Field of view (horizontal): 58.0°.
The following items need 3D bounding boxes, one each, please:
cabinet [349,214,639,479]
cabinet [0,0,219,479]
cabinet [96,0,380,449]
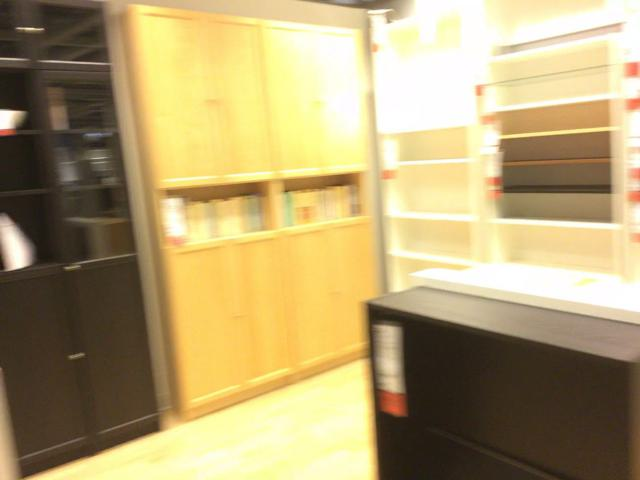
[{"bbox_3d":[0.570,0.700,1.620,0.500,1.220,0.920,-17,33,-31],"label":"cabinet"},{"bbox_3d":[-1.400,0.030,2.730,0.710,2.320,1.480,-3,3,42],"label":"cabinet"},{"bbox_3d":[-0.410,-0.160,3.660,0.710,2.290,1.590,3,7,42],"label":"cabinet"}]
